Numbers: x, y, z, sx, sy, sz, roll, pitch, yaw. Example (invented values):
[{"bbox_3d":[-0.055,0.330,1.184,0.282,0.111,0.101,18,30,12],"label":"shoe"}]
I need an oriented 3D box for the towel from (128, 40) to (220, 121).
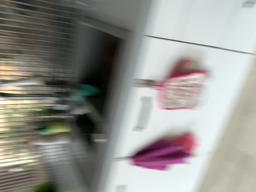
[{"bbox_3d":[0.200,-0.060,0.940,0.120,0.320,0.300,45,126,46],"label":"towel"}]

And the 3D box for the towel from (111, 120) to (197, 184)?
[{"bbox_3d":[0.130,0.260,1.040,0.120,0.370,0.230,46,127,45],"label":"towel"}]
